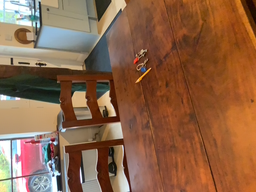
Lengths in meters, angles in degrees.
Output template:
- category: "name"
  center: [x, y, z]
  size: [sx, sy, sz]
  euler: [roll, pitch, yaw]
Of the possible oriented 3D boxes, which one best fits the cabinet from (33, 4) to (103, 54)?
- category: "cabinet"
  center: [-1.010, -1.050, 3.510]
  size: [0.700, 0.930, 0.320]
  euler: [-32, 63, 53]
